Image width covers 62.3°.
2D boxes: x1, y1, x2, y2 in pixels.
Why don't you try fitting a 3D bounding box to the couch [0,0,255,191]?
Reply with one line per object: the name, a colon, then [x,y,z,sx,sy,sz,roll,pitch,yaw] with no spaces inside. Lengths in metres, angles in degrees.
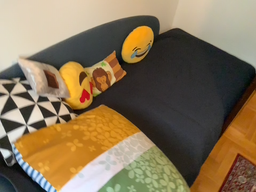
couch: [0.190,0.080,1.510,1.030,0.850,2.140,34,50,21]
